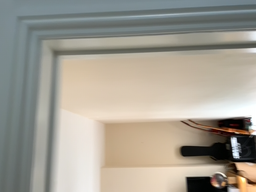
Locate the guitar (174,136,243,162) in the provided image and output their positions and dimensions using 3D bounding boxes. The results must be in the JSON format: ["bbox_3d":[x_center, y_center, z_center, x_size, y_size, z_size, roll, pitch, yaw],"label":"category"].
[{"bbox_3d":[1.380,0.920,3.720,0.360,1.040,0.400,80,-171,-78],"label":"guitar"}]
